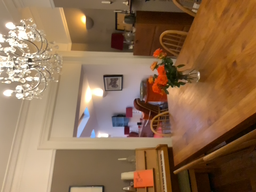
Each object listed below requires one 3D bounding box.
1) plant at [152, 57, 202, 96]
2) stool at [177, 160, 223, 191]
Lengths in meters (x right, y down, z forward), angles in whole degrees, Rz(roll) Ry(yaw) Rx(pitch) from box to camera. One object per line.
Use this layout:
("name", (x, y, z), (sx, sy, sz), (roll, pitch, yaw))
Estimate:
("plant", (0.360, -0.150, 1.620), (0.180, 0.310, 0.230), (91, 178, -60))
("stool", (0.980, 1.380, 2.840), (0.370, 0.460, 0.950), (97, 174, -63))
